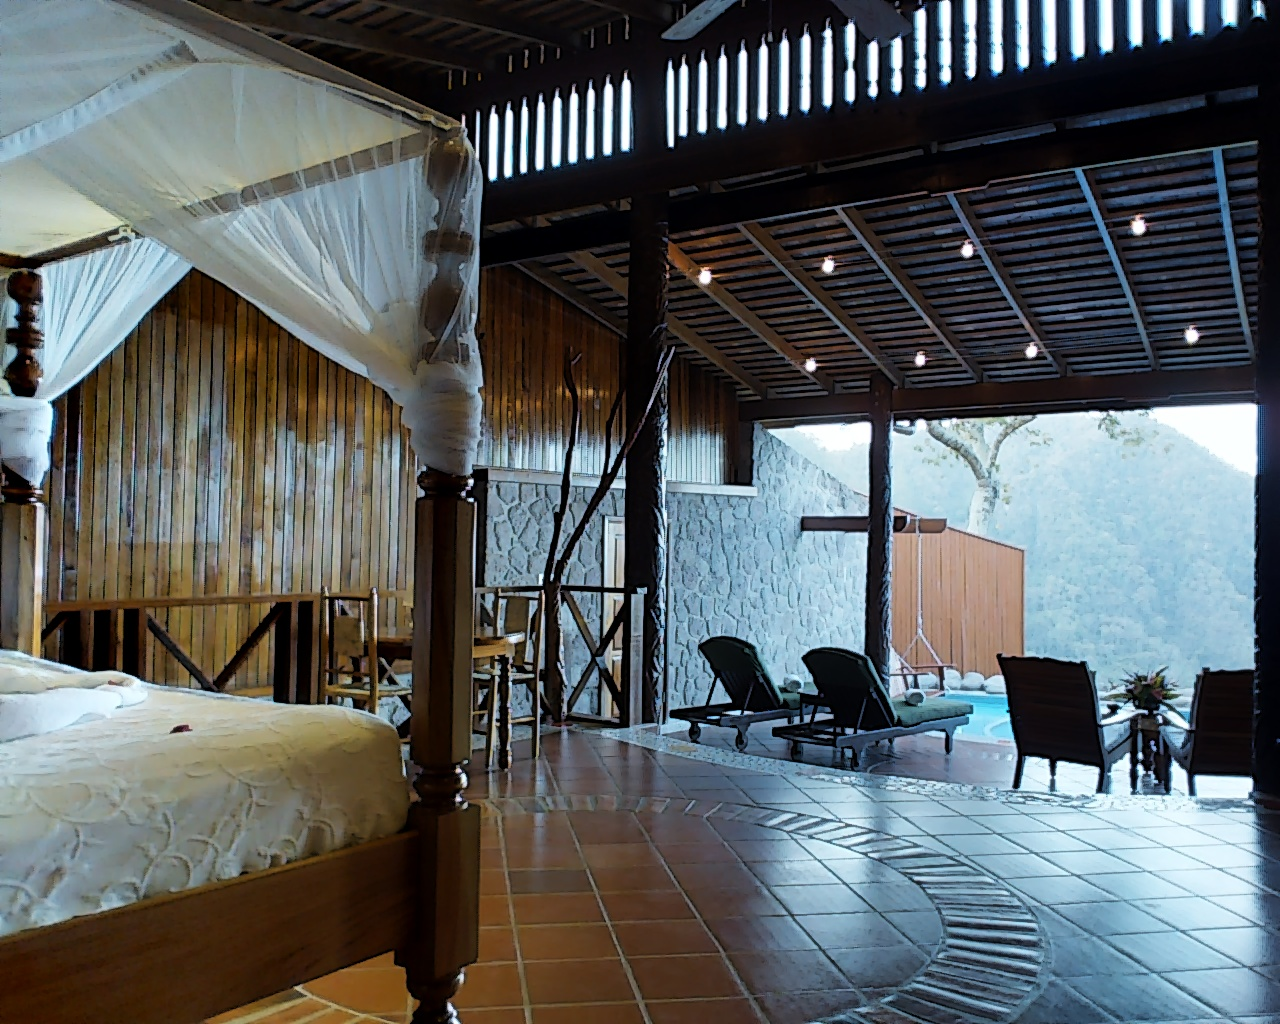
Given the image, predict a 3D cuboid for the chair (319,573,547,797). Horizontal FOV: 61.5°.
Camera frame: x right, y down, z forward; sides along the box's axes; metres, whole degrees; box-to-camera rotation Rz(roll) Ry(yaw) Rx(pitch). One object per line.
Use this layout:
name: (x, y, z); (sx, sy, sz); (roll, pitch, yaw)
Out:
chair: (-1.110, 0.870, 5.750); (1.090, 1.050, 0.870); (1, -2, -13)

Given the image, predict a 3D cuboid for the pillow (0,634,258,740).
pillow: (-1.540, 0.390, 2.450); (0.950, 0.110, 0.880); (0, -2, 37)
